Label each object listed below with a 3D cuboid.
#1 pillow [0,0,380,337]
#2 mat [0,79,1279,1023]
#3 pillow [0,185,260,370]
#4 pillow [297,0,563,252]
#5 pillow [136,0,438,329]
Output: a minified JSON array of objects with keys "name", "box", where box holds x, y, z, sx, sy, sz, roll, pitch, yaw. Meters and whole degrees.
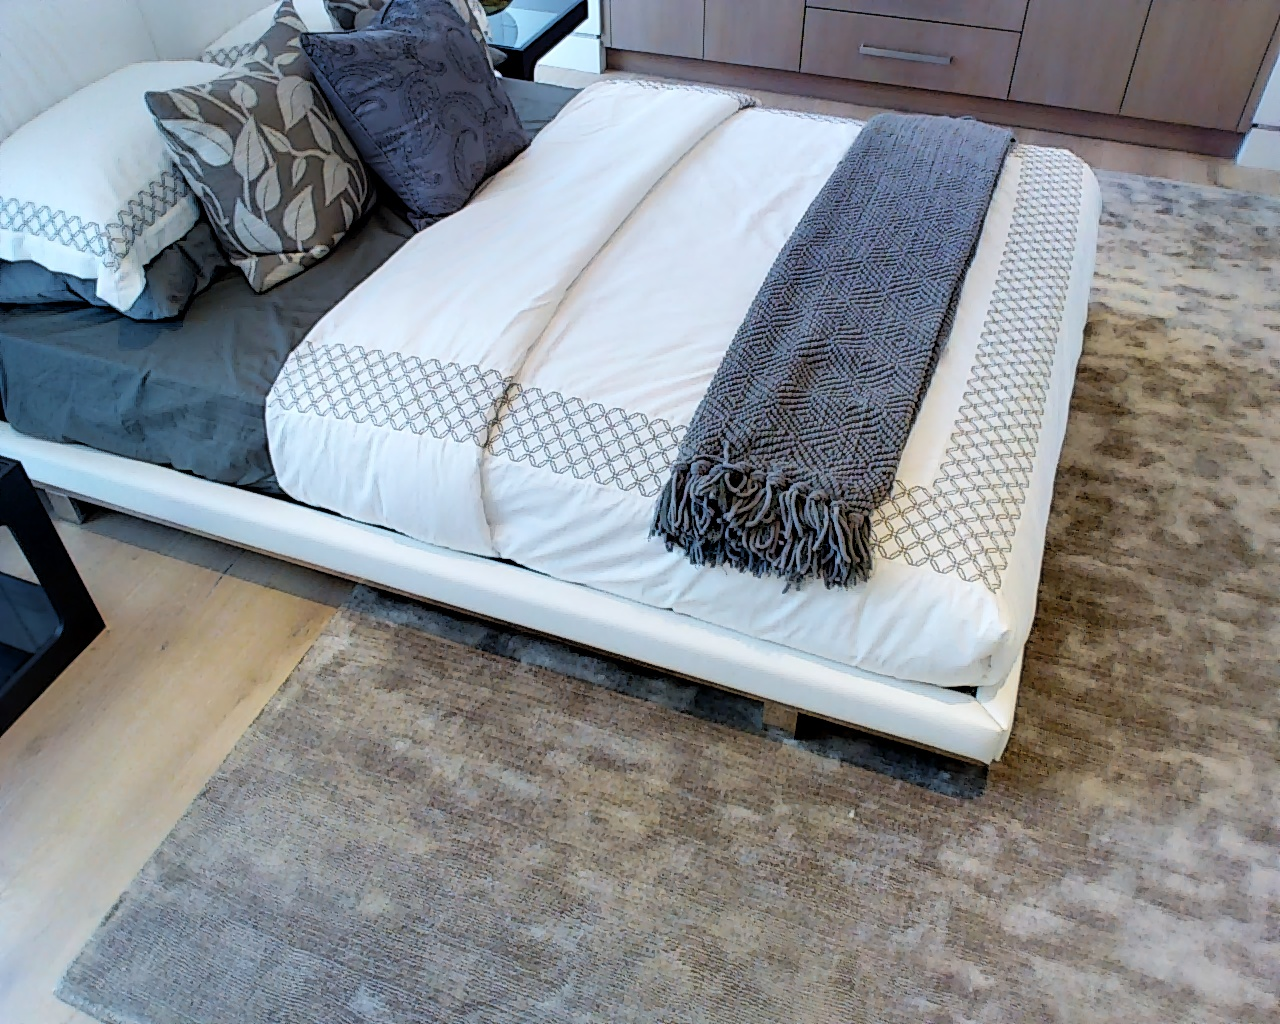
[{"name":"pillow","box":[-0.970,-0.750,2.210,0.450,0.280,0.840,16,46,14]},{"name":"mat","box":[0.840,-0.110,2.380,2.380,0.120,3.470,14,45,16]},{"name":"pillow","box":[-1.050,-0.470,2.110,0.470,0.150,0.300,14,45,16]},{"name":"pillow","box":[-0.440,-0.910,2.290,0.270,0.460,0.480,31,47,-3]},{"name":"pillow","box":[-0.710,-0.740,2.180,0.290,0.440,0.540,29,47,0]}]
